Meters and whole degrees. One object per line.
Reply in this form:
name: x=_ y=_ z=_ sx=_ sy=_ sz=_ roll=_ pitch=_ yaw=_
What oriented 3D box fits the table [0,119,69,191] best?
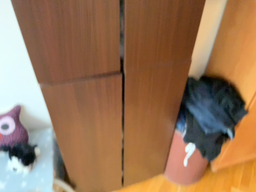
table: x=-0.630 y=0.480 z=1.350 sx=0.410 sy=0.440 sz=0.410 roll=-9 pitch=44 yaw=-12
